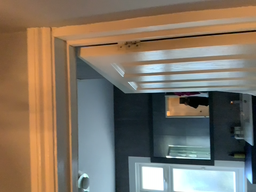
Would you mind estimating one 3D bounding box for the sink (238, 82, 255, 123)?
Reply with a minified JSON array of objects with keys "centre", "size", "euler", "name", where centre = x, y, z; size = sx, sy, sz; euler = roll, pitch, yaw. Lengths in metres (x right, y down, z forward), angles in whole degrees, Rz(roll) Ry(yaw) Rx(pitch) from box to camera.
[{"centre":[1.540,0.080,2.740],"size":[0.300,0.130,0.500],"euler":[-5,-87,-76],"name":"sink"}]
